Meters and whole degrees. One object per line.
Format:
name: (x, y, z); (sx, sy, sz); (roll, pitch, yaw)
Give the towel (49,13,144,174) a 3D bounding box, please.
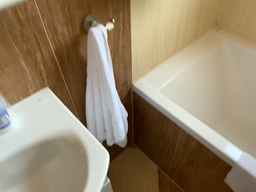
towel: (-0.080, 0.060, 0.870); (0.230, 0.710, 0.140); (-35, 57, -25)
